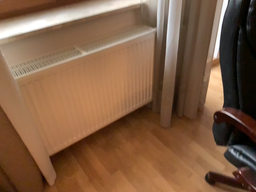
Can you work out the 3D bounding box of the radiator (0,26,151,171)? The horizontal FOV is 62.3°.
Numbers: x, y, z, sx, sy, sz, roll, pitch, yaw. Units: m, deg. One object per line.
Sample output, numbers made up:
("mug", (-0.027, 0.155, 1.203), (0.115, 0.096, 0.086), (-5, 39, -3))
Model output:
("radiator", (-0.250, -0.010, 1.440), (0.870, 0.660, 0.230), (-28, 45, -28))
